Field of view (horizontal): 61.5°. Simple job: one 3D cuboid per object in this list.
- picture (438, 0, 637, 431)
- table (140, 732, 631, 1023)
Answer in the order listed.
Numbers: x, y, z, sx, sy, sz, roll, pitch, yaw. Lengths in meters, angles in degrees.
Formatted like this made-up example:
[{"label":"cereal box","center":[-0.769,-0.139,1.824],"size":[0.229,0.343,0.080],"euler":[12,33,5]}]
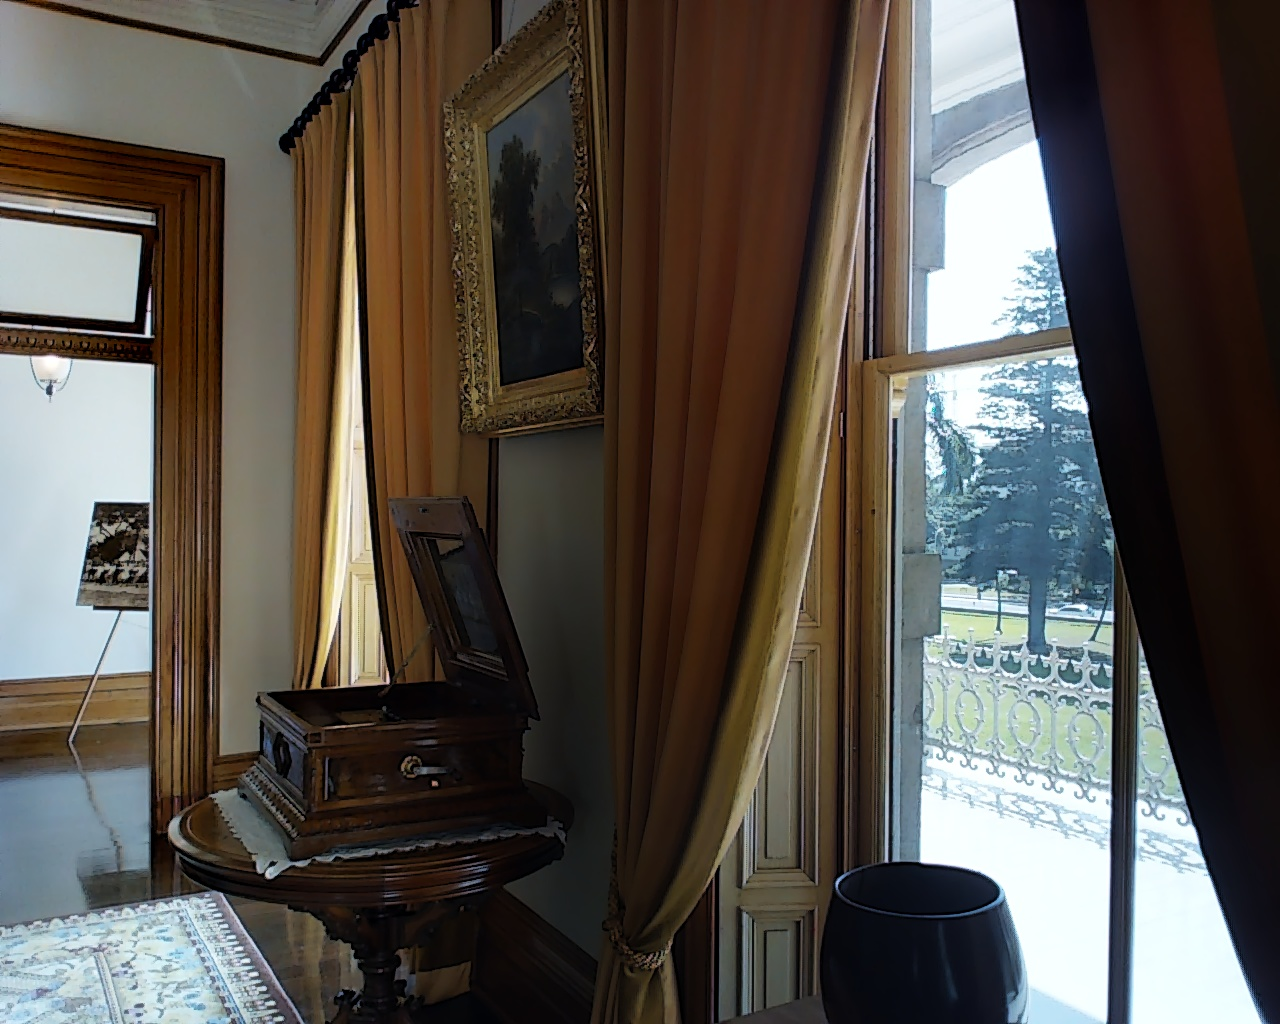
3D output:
[{"label":"picture","center":[-0.320,-0.800,3.030],"size":[0.190,1.090,0.900],"euler":[0,1,-30]},{"label":"table","center":[-0.710,1.110,2.810],"size":[0.990,0.780,1.020],"euler":[0,1,-30]}]
